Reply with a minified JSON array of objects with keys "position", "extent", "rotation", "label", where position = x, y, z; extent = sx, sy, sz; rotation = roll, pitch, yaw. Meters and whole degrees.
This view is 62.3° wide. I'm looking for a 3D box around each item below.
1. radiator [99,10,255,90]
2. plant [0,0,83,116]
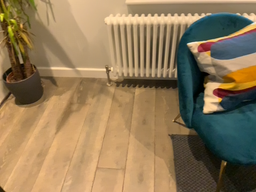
[{"position":[0.510,-0.340,1.660],"extent":[1.390,0.580,0.180],"rotation":[2,43,6],"label":"radiator"},{"position":[-0.890,-0.660,1.490],"extent":[0.680,1.550,0.500],"rotation":[17,46,21],"label":"plant"}]
